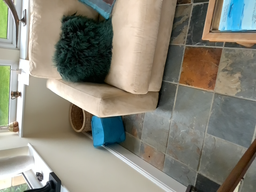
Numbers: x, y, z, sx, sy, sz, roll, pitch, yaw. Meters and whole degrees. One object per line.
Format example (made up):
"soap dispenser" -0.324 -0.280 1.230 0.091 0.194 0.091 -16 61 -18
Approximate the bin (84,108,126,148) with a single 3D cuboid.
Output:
"bin" -0.250 0.330 2.260 0.330 0.280 0.370 -7 85 47
